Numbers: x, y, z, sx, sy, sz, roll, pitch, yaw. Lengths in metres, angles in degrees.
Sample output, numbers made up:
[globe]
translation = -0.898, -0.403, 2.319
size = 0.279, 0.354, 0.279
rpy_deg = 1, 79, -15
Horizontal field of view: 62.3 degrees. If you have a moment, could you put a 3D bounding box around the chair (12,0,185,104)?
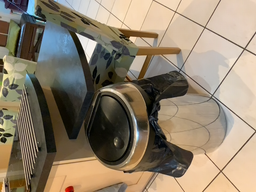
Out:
[chair]
translation = -0.180, -0.280, 1.390
size = 0.420, 0.930, 0.490
rpy_deg = 52, 127, 41

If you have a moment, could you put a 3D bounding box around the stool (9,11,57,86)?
[stool]
translation = -1.770, -0.820, 3.870
size = 0.460, 0.540, 1.190
rpy_deg = 51, 126, 42
